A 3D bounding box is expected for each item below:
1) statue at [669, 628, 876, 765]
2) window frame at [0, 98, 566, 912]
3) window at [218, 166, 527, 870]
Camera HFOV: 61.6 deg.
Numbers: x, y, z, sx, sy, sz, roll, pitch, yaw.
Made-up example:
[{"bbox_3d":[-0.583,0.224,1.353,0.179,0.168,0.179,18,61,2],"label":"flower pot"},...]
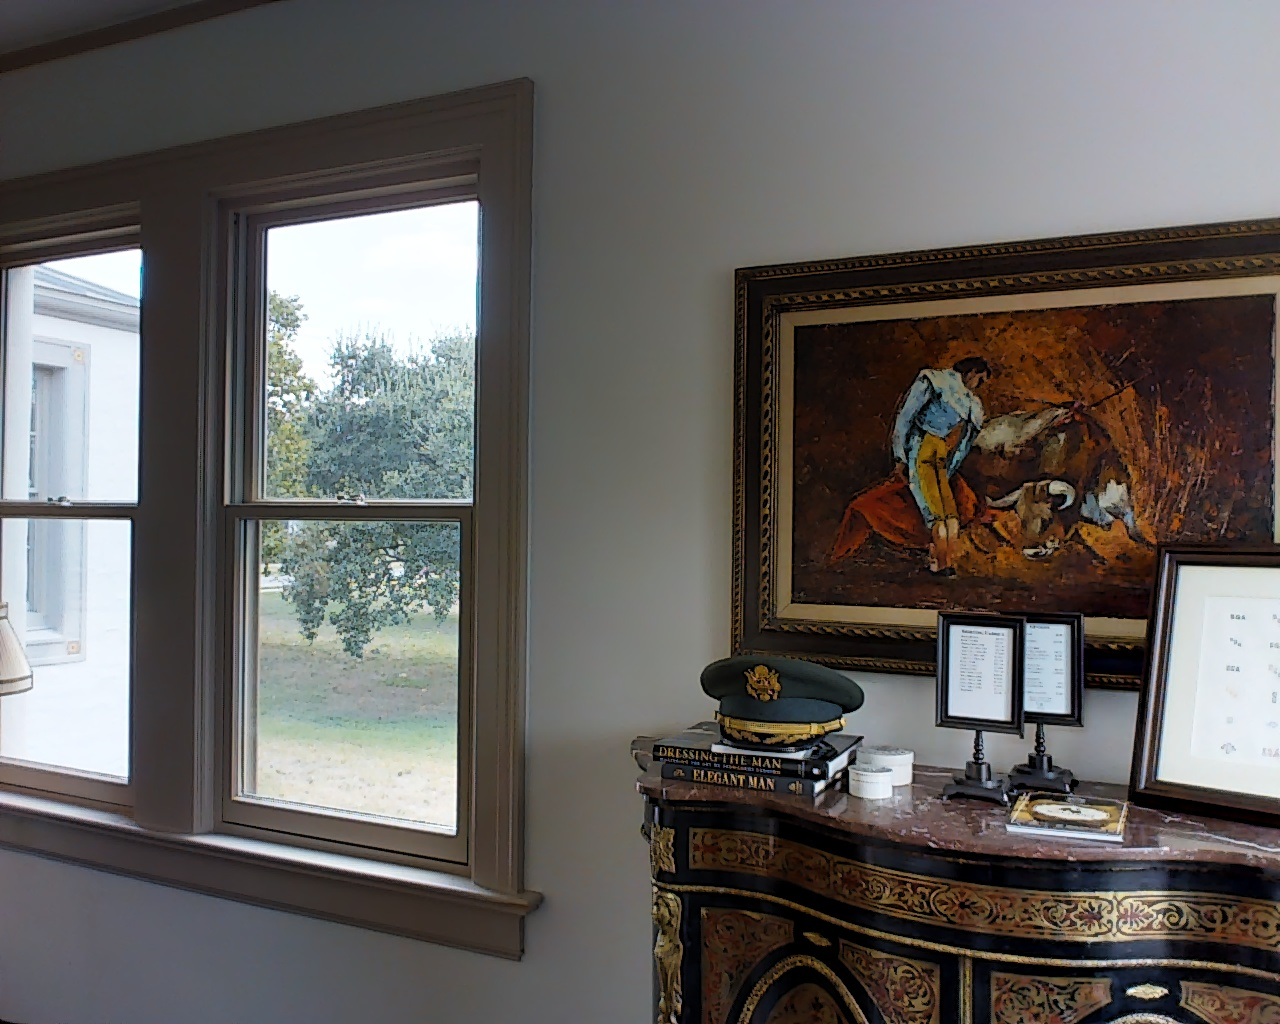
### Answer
[{"bbox_3d":[0.220,0.290,1.750,0.280,0.170,0.220,0,-1,25],"label":"statue"},{"bbox_3d":[-1.100,-0.020,2.720,1.980,1.690,0.160,0,-1,25],"label":"window frame"},{"bbox_3d":[-0.640,0.010,2.530,0.740,1.500,0.190,0,-1,25],"label":"window"}]
